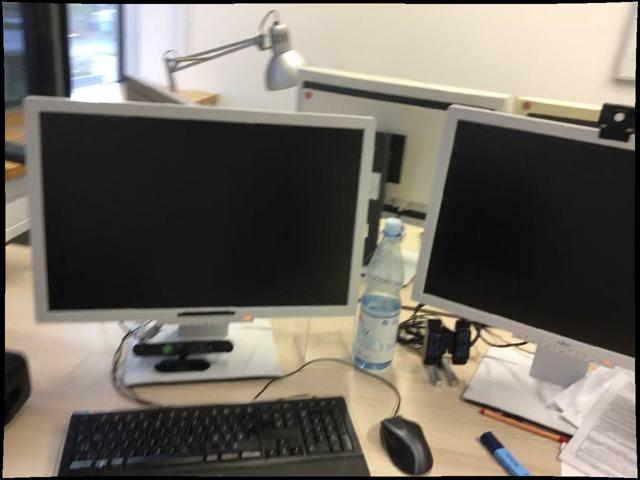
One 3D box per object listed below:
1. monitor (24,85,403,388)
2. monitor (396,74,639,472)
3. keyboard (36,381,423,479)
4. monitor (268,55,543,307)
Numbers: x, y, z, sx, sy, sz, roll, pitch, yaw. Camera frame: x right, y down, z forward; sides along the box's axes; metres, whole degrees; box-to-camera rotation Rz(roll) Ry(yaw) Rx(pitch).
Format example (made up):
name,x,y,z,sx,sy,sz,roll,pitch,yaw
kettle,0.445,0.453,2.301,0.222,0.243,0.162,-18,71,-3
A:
name,x,y,z,sx,sy,sz,roll,pitch,yaw
monitor,-0.180,0.000,1.060,0.559,0.490,0.210,1,24,-9
monitor,0.480,0.050,0.990,0.580,0.550,0.240,17,26,26
keyboard,-0.130,0.320,0.920,0.549,0.030,0.260,2,24,-7
monitor,0.190,-0.180,1.520,0.620,0.500,0.210,17,26,25
